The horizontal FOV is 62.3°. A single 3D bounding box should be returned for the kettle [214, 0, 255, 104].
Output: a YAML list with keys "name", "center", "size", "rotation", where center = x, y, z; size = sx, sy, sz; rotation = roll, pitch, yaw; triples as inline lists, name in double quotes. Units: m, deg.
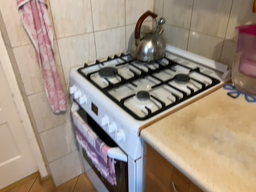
- name: "kettle"
  center: [0.500, -0.180, 0.820]
  size: [0.140, 0.360, 0.200]
  rotation: [-22, 39, -31]
